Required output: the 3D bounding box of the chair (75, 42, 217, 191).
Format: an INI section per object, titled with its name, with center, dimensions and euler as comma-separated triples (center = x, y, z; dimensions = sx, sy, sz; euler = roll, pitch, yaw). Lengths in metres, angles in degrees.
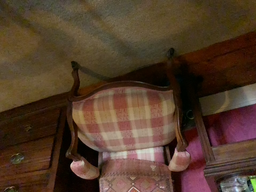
[chair]
center = 0.030, 0.370, 1.210
dimensions = 0.510, 1.130, 0.760
euler = 0, 143, -5
